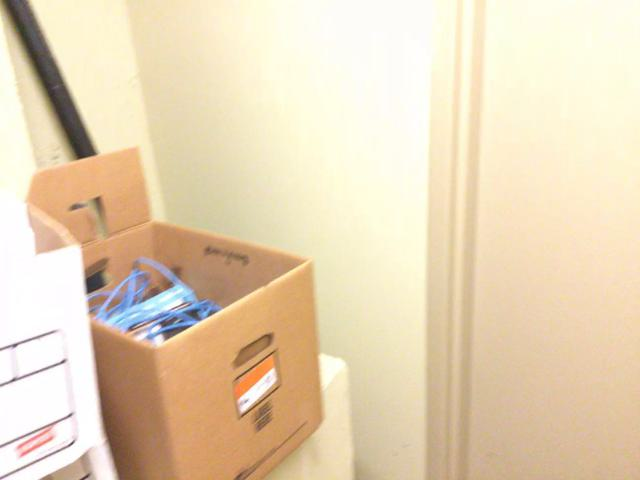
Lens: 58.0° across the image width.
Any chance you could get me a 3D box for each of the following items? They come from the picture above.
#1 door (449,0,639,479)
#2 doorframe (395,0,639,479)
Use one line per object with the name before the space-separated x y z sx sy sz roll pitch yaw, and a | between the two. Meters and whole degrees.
door | 0.670 0.190 1.110 0.840 1.440 0.090 10 25 38
doorframe | 0.640 0.200 1.080 0.990 1.450 0.140 10 25 38
